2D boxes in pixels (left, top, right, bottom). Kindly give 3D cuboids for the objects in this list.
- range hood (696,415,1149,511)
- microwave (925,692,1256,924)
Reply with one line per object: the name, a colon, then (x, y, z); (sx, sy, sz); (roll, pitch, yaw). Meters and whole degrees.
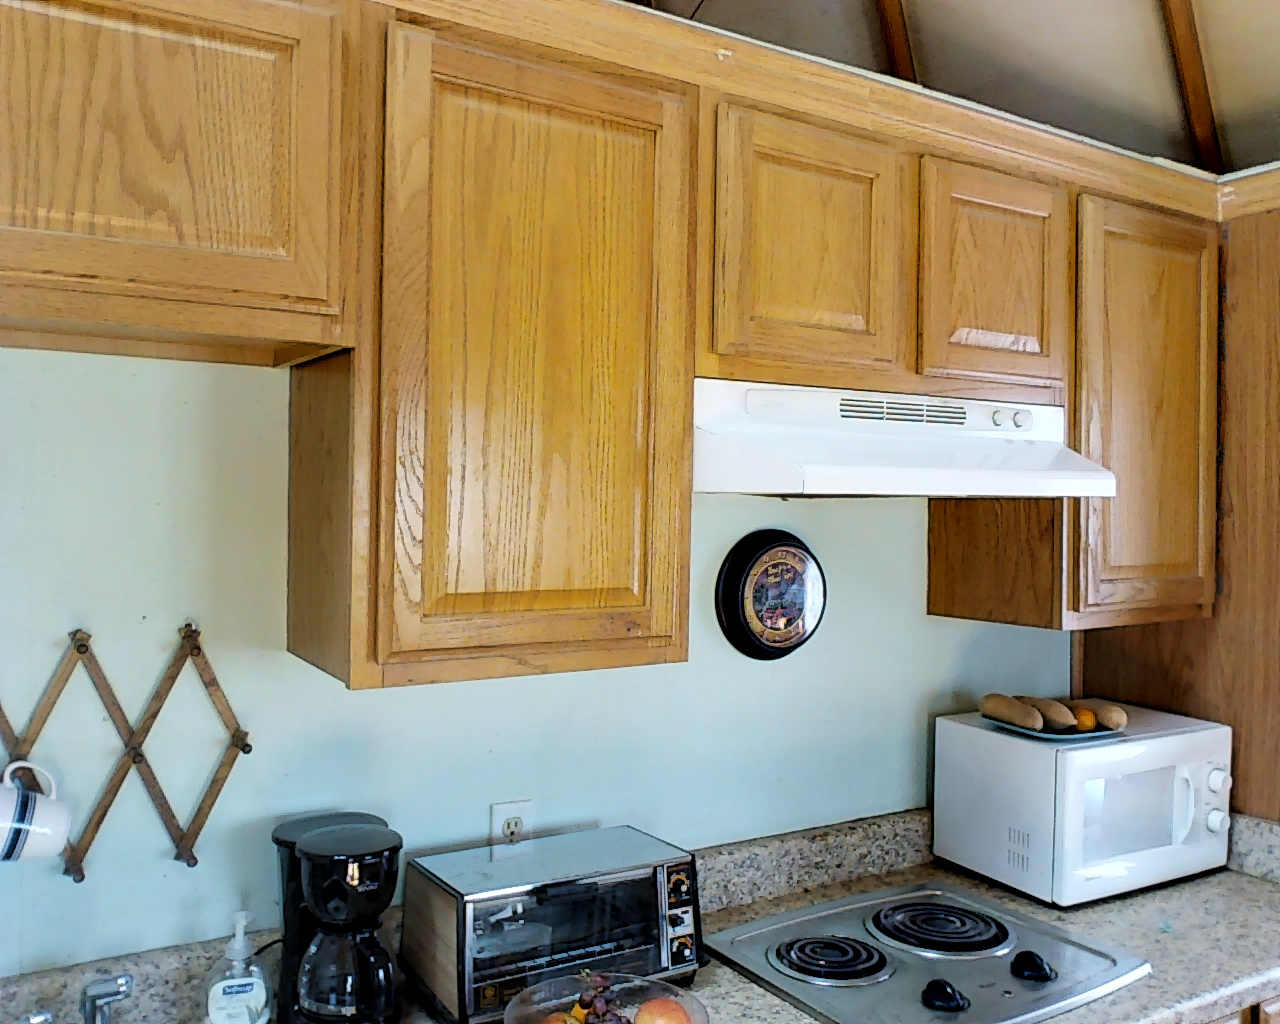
range hood: (0.440, -0.060, 1.580); (0.750, 0.110, 0.170); (1, 0, -32)
microwave: (0.850, 0.530, 2.040); (0.510, 0.290, 0.340); (1, 0, -32)
